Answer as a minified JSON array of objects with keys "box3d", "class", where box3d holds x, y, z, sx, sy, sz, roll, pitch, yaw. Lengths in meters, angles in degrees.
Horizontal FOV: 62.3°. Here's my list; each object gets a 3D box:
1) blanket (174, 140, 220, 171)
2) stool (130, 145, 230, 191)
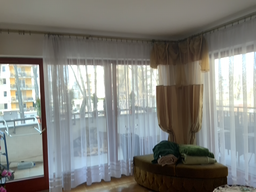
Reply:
[{"box3d":[1.070,0.930,3.380,0.590,0.320,0.510,-2,2,3],"class":"blanket"},{"box3d":[0.780,1.260,3.510,1.100,0.480,1.220,-2,2,-22],"class":"stool"}]
